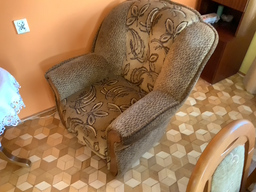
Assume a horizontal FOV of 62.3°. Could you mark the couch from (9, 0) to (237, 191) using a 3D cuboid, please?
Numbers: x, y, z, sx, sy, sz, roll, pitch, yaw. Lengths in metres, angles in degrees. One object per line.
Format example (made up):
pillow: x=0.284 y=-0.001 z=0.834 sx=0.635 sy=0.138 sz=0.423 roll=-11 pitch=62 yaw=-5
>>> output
couch: x=-0.030 y=-0.130 z=1.560 sx=0.980 sy=0.920 sz=0.930 roll=-32 pitch=52 yaw=-32

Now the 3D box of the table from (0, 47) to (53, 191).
table: x=-0.950 y=0.200 z=1.340 sx=0.600 sy=0.700 sz=0.610 roll=-23 pitch=47 yaw=-25
